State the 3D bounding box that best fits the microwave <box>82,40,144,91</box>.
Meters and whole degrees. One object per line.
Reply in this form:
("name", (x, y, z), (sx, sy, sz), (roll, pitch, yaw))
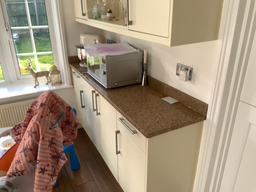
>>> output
("microwave", (-0.160, -0.310, 1.950), (0.350, 0.290, 0.570), (-12, 27, -25))
